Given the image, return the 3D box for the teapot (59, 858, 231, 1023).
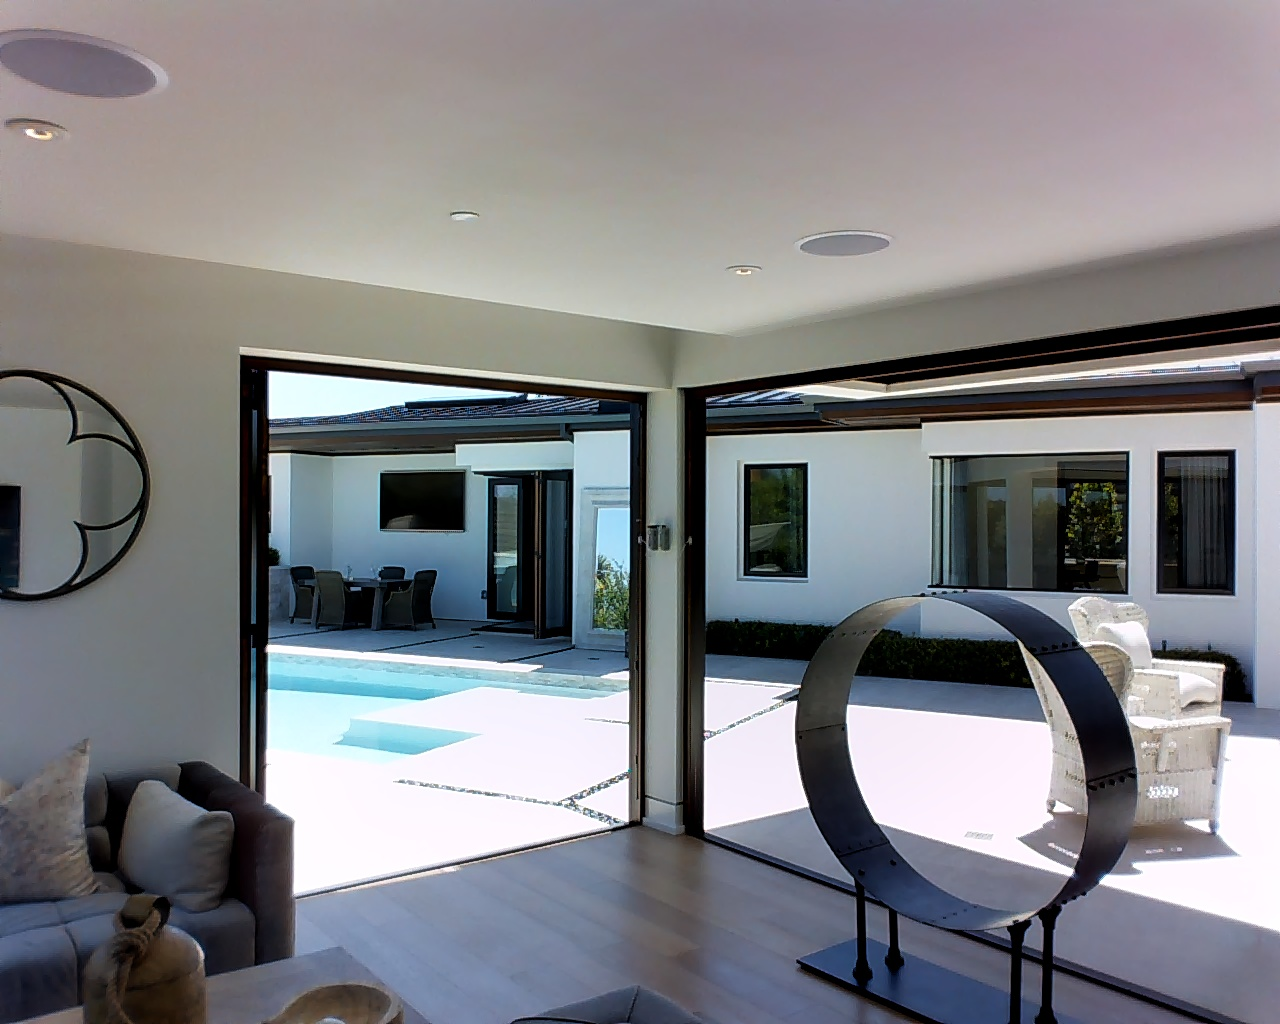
[{"bbox_3d":[-1.020,0.990,2.210,0.270,0.430,0.290,0,0,-36],"label":"teapot"}]
